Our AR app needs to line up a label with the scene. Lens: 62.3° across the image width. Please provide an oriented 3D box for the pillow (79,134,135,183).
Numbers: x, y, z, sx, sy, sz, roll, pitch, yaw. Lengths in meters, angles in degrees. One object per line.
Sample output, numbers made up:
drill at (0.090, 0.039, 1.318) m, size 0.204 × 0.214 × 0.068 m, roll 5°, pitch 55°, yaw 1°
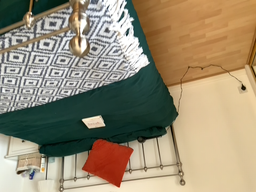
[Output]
pillow at (-0.240, 0.740, 2.460) m, size 0.500 × 0.440 × 0.400 m, roll -14°, pitch 155°, yaw 15°
